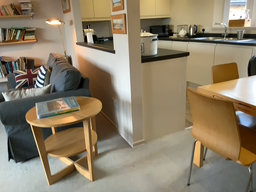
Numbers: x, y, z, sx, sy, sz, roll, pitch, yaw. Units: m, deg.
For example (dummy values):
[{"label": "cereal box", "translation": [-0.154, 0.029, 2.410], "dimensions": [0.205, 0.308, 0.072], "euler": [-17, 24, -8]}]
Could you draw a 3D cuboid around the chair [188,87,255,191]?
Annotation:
[{"label": "chair", "translation": [0.690, 0.390, 1.360], "dimensions": [0.440, 0.770, 0.360], "euler": [-8, 20, -13]}]
